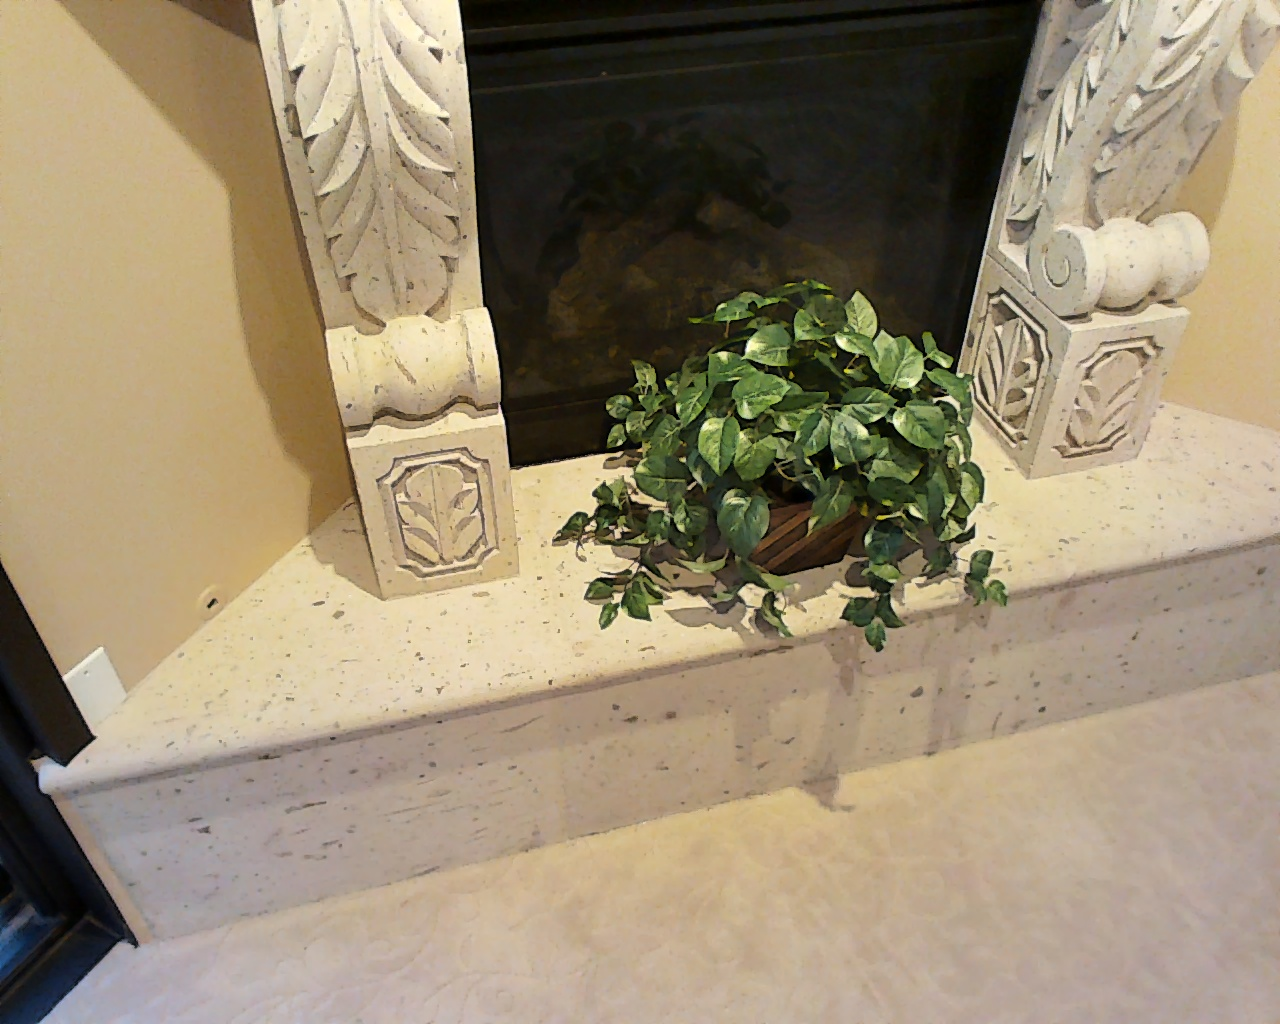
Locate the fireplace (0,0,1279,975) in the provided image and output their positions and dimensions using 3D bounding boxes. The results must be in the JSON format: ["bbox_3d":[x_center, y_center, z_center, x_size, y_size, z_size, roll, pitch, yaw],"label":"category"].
[{"bbox_3d":[0.210,-0.340,1.410,2.131,1.760,0.560,-10,42,-12],"label":"fireplace"}]
